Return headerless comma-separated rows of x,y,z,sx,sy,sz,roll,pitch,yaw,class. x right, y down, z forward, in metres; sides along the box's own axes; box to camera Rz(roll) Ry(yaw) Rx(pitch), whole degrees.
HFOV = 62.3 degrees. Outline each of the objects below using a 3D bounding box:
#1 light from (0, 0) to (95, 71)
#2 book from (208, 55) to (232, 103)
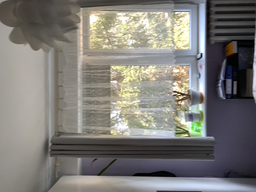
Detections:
-0.570,-0.570,1.340,0.610,0.430,0.710,6,-96,-62,light
1.040,-0.180,2.410,0.290,0.150,0.500,61,-150,-85,book
